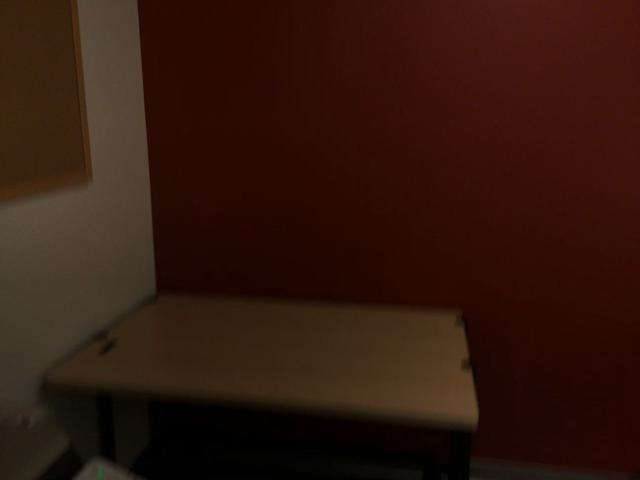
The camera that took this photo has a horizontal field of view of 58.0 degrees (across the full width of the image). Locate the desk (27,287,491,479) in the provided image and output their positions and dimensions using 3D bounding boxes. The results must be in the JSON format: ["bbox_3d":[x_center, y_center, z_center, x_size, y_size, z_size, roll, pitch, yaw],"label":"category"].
[{"bbox_3d":[-0.120,0.660,1.930,1.230,0.730,0.810,3,12,12],"label":"desk"}]
